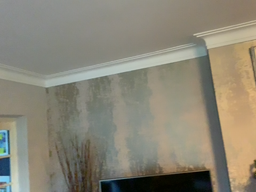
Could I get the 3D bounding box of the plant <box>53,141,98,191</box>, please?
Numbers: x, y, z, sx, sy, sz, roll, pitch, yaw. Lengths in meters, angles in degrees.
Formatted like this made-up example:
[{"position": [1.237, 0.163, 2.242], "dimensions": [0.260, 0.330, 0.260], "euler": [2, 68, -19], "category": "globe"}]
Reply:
[{"position": [-0.580, 1.380, 2.520], "dimensions": [0.410, 1.610, 0.280], "euler": [-8, -8, 13], "category": "plant"}]
